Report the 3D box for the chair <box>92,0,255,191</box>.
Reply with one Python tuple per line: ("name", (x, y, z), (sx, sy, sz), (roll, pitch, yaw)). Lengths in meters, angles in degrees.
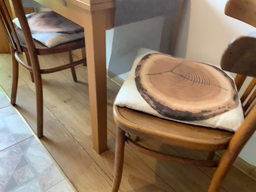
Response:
("chair", (0.200, 0.060, 0.770), (0.470, 0.750, 0.440), (14, 38, 13))
